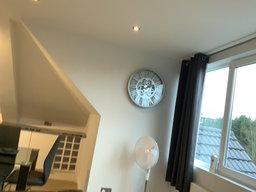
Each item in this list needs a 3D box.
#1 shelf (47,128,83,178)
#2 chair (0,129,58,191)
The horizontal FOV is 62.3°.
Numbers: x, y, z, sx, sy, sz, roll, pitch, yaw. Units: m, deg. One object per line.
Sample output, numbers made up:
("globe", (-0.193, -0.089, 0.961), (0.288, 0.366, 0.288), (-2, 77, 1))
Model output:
("shelf", (-1.340, 1.190, 4.540), (0.520, 0.880, 0.660), (11, -6, -16))
("chair", (-1.310, 1.000, 2.810), (0.540, 1.000, 0.460), (11, -6, -16))
